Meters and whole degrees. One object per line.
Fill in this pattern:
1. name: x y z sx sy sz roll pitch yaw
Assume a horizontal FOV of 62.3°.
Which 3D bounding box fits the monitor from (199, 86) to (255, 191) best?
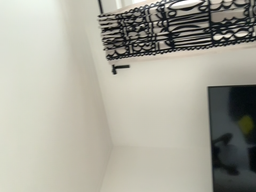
1. monitor: 0.880 0.530 1.300 0.040 0.710 1.220 34 -129 -67
